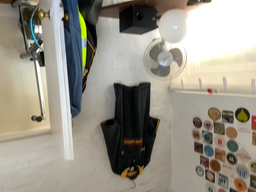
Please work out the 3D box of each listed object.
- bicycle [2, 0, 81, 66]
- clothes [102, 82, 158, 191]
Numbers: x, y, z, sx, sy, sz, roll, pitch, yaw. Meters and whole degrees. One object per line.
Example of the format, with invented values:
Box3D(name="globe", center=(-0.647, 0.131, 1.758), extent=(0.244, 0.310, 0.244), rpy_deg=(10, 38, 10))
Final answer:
Box3D(name="bicycle", center=(-1.450, -1.100, 3.640), extent=(1.120, 1.110, 0.400), rpy_deg=(-7, -173, -31))
Box3D(name="clothes", center=(0.040, 0.320, 1.850), extent=(0.490, 0.850, 0.100), rpy_deg=(-8, -172, -37))
